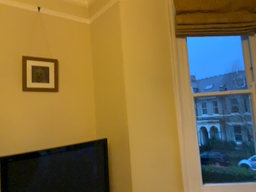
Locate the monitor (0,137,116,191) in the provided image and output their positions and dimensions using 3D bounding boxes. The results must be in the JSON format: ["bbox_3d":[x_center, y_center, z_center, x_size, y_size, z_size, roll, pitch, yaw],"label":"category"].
[{"bbox_3d":[-0.530,0.820,1.920,0.070,0.750,1.100,-8,-7,41],"label":"monitor"}]
